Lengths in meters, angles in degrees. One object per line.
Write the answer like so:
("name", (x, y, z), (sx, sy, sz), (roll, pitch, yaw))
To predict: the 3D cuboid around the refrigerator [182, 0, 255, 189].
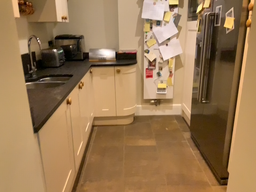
("refrigerator", (1.110, -0.190, 2.040), (0.780, 1.800, 0.940), (-1, 18, -2))
